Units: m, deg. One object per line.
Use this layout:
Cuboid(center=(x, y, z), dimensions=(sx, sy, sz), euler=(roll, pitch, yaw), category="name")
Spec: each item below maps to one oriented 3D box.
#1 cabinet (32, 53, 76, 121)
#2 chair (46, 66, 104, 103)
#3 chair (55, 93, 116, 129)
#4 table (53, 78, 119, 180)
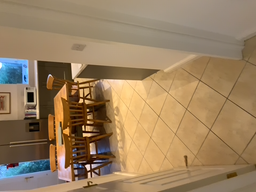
Cuboid(center=(-1.940, -0.230, 5.510), dimensions=(0.580, 0.890, 1.590), euler=(-27, 68, 57), category="cabinet")
Cuboid(center=(-0.980, -0.190, 3.900), dimensions=(0.520, 0.880, 0.510), euler=(-27, 68, 57), category="chair")
Cuboid(center=(-0.710, 0.240, 3.500), dimensions=(0.560, 0.820, 0.490), euler=(-19, 75, 58), category="chair")
Cuboid(center=(-0.810, 0.570, 3.770), dimensions=(0.940, 0.750, 1.530), euler=(-28, 67, 57), category="table")
